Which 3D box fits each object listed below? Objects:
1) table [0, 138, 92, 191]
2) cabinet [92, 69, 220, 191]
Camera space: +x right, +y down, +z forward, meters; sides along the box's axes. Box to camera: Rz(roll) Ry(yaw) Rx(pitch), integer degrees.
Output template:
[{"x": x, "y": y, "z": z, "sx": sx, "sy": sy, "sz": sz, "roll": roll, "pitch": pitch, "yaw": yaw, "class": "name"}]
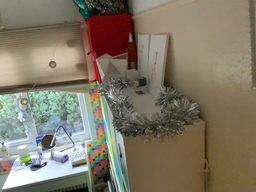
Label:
[{"x": -0.740, "y": 0.990, "z": 2.120, "sx": 0.730, "sy": 0.790, "sz": 0.590, "roll": -11, "pitch": 18, "yaw": -13, "class": "table"}, {"x": 0.090, "y": 0.630, "z": 1.760, "sx": 0.410, "sy": 1.440, "sz": 1.480, "roll": -11, "pitch": 18, "yaw": -12, "class": "cabinet"}]
